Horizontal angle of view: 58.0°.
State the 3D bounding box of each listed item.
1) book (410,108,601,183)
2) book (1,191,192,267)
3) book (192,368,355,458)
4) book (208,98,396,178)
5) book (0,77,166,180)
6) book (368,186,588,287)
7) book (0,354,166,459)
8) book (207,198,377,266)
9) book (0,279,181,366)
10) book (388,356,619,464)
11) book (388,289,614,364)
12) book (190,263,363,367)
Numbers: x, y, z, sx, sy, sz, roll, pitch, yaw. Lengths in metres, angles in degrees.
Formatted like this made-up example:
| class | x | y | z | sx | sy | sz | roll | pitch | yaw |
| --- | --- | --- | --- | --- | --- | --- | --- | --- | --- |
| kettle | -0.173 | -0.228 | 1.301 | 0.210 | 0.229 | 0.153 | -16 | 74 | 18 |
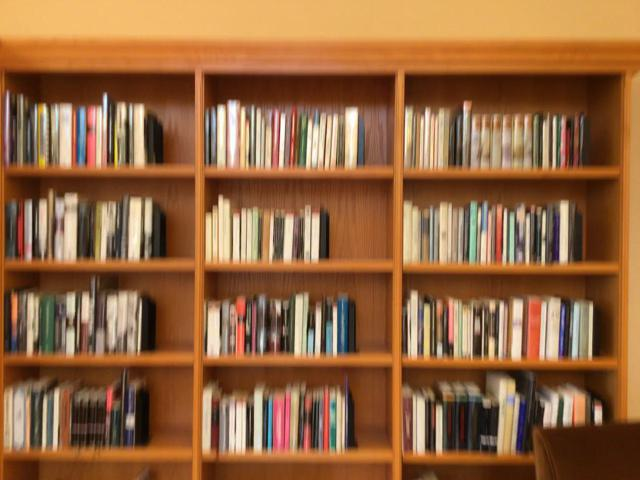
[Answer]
| class | x | y | z | sx | sy | sz | roll | pitch | yaw |
| --- | --- | --- | --- | --- | --- | --- | --- | --- | --- |
| book | 0.740 | -0.380 | 2.380 | 0.700 | 0.260 | 0.270 | 0 | -1 | 1 |
| book | -0.890 | -0.040 | 2.350 | 0.680 | 0.290 | 0.240 | 0 | -1 | 1 |
| book | -0.180 | 0.710 | 2.410 | 0.640 | 0.290 | 0.290 | 0 | -1 | 1 |
| book | -0.070 | -0.410 | 2.360 | 0.740 | 0.290 | 0.160 | 0 | -1 | 1 |
| book | -0.960 | -0.440 | 2.340 | 0.600 | 0.360 | 0.270 | 0 | -1 | 1 |
| book | 0.620 | -0.010 | 2.380 | 0.820 | 0.390 | 0.310 | 0 | -1 | 1 |
| book | -0.970 | 0.670 | 2.380 | 0.580 | 0.340 | 0.330 | 0 | -1 | 1 |
| book | -0.110 | -0.030 | 2.360 | 0.670 | 0.270 | 0.160 | 0 | -1 | 1 |
| book | -0.930 | 0.330 | 2.400 | 0.620 | 0.320 | 0.320 | 0 | -1 | 1 |
| book | 0.730 | 0.690 | 2.400 | 0.860 | 0.360 | 0.300 | 0 | -1 | 1 |
| book | 0.720 | 0.350 | 2.400 | 0.840 | 0.270 | 0.310 | 0 | -1 | 1 |
| book | -0.170 | 0.300 | 2.420 | 0.680 | 0.400 | 0.300 | 0 | -1 | 1 |
